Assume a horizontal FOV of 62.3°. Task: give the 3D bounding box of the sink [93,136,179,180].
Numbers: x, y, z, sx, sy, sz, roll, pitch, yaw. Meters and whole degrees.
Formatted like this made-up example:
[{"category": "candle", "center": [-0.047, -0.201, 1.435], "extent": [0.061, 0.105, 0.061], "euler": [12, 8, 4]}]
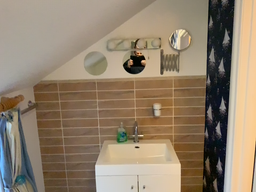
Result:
[{"category": "sink", "center": [0.060, 0.480, 1.710], "extent": [0.600, 0.140, 0.450], "euler": [-2, 11, 1]}]
